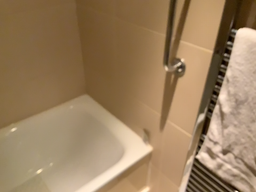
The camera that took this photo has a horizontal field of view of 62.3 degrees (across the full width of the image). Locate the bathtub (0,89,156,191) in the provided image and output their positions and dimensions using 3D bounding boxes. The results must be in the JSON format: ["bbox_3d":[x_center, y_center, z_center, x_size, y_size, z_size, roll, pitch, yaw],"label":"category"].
[{"bbox_3d":[-0.730,0.620,1.220,1.670,0.550,0.750,-23,41,-31],"label":"bathtub"}]
